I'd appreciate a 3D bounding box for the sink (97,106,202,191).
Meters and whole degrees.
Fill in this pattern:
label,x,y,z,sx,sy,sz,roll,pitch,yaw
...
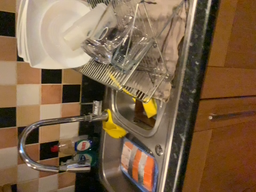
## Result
label,x,y,z,sx,sy,sz,roll,pitch,yaw
sink,0.050,0.320,1.000,0.500,0.160,0.400,26,113,52
